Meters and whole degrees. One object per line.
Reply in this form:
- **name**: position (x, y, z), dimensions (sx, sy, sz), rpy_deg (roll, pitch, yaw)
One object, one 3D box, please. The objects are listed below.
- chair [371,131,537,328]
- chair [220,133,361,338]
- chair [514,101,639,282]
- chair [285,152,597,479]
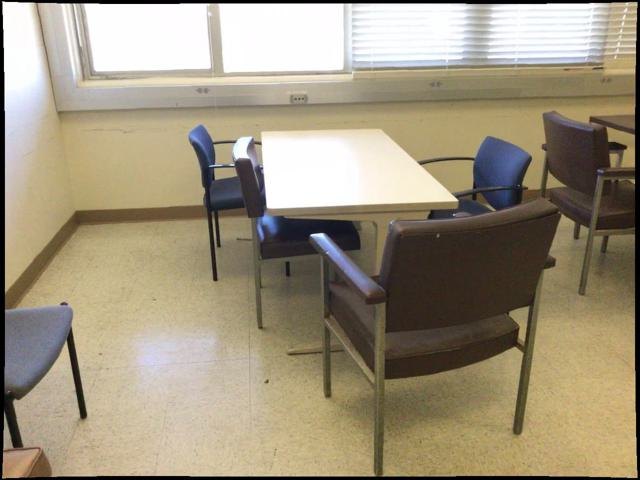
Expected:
- **chair**: position (0.598, -0.070, 2.800), dimensions (0.588, 0.792, 0.530), rpy_deg (-3, 24, -5)
- **chair**: position (-0.140, -0.040, 2.710), dimensions (0.569, 0.792, 0.530), rpy_deg (-3, 24, -5)
- **chair**: position (1.486, -0.281, 3.010), dimensions (0.608, 0.752, 0.650), rpy_deg (-3, 24, -5)
- **chair**: position (0.329, 0.221, 1.930), dimensions (0.718, 0.832, 0.630), rpy_deg (-8, 25, -18)
